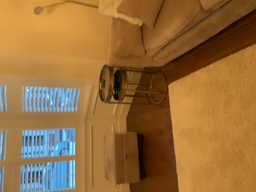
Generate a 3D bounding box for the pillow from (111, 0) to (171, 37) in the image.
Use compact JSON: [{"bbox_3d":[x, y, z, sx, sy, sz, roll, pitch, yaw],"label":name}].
[{"bbox_3d":[0.120,-0.750,1.800,0.350,0.390,0.140,-41,63,18],"label":"pillow"}]
